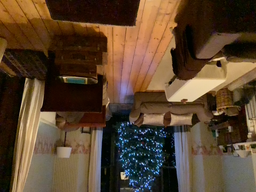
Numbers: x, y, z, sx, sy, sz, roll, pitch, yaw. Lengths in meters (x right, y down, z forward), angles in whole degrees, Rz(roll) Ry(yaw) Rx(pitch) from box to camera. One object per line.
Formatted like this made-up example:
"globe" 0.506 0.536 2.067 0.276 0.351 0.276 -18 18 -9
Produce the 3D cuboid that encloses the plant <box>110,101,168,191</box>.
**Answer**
"plant" 0.290 1.910 7.160 1.620 3.150 1.390 3 164 -8

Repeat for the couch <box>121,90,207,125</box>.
"couch" 0.870 0.350 5.690 2.080 0.710 0.960 2 164 -4

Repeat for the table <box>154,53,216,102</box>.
"table" 0.970 -0.270 3.990 0.630 0.420 1.460 2 164 -5

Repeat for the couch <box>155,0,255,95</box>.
"couch" 1.300 -0.550 2.230 1.820 0.810 0.970 2 164 -6

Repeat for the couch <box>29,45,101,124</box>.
"couch" -0.980 -0.080 3.830 0.860 0.940 1.620 2 164 -4
